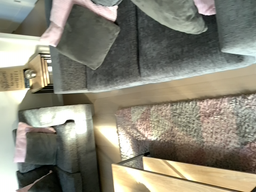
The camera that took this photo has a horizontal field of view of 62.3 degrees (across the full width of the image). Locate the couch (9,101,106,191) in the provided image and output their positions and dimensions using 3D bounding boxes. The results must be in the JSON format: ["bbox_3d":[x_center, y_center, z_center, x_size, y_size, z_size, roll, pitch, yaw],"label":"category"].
[{"bbox_3d":[-0.880,0.890,2.640,0.940,0.730,1.530,-9,87,48],"label":"couch"}]

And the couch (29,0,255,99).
[{"bbox_3d":[0.030,-0.570,1.440,1.760,0.740,0.990,-8,88,48],"label":"couch"}]
